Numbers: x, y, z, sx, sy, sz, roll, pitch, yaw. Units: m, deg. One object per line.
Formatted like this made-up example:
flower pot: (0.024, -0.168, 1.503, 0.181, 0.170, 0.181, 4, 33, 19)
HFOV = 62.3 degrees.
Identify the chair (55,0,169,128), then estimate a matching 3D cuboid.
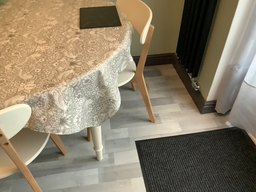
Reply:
chair: (-0.100, -0.230, 1.450, 0.550, 0.790, 0.440, -5, 43, -6)

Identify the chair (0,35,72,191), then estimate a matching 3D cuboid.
chair: (-0.560, 0.240, 0.930, 0.450, 0.790, 0.560, -5, 43, -6)
